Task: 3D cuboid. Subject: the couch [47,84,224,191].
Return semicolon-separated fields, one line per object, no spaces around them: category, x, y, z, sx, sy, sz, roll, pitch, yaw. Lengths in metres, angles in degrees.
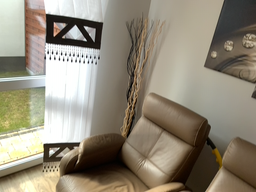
couch;0.000;0.540;1.590;0.900;0.990;0.750;-10;29;-41
